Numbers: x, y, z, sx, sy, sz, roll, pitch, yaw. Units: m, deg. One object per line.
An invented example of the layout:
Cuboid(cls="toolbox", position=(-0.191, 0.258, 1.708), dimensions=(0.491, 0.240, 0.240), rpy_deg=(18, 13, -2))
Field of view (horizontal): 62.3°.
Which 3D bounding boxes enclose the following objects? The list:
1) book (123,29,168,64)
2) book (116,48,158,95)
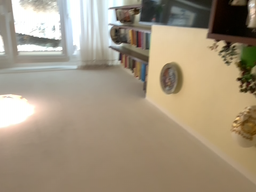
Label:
Cuboid(cls="book", position=(0.170, -0.630, 2.580), dimensions=(0.200, 0.300, 0.890), rpy_deg=(-4, -158, -18))
Cuboid(cls="book", position=(0.060, -0.390, 2.830), dimensions=(0.100, 0.290, 1.360), rpy_deg=(-3, -159, -17))
